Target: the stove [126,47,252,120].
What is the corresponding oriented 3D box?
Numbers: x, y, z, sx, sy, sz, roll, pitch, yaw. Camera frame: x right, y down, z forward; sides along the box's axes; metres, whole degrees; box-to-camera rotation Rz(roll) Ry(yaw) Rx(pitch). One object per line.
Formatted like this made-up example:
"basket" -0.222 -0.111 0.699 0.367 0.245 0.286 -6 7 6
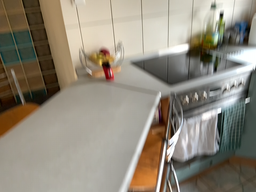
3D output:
"stove" 0.380 -0.140 1.500 0.580 0.180 0.610 -16 30 -20
